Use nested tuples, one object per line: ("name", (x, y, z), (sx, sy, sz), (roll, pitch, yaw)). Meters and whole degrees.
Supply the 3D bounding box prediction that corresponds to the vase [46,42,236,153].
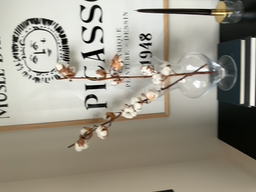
("vase", (0.060, -0.020, 0.950), (0.260, 0.730, 0.390), (-142, 49, -78))
